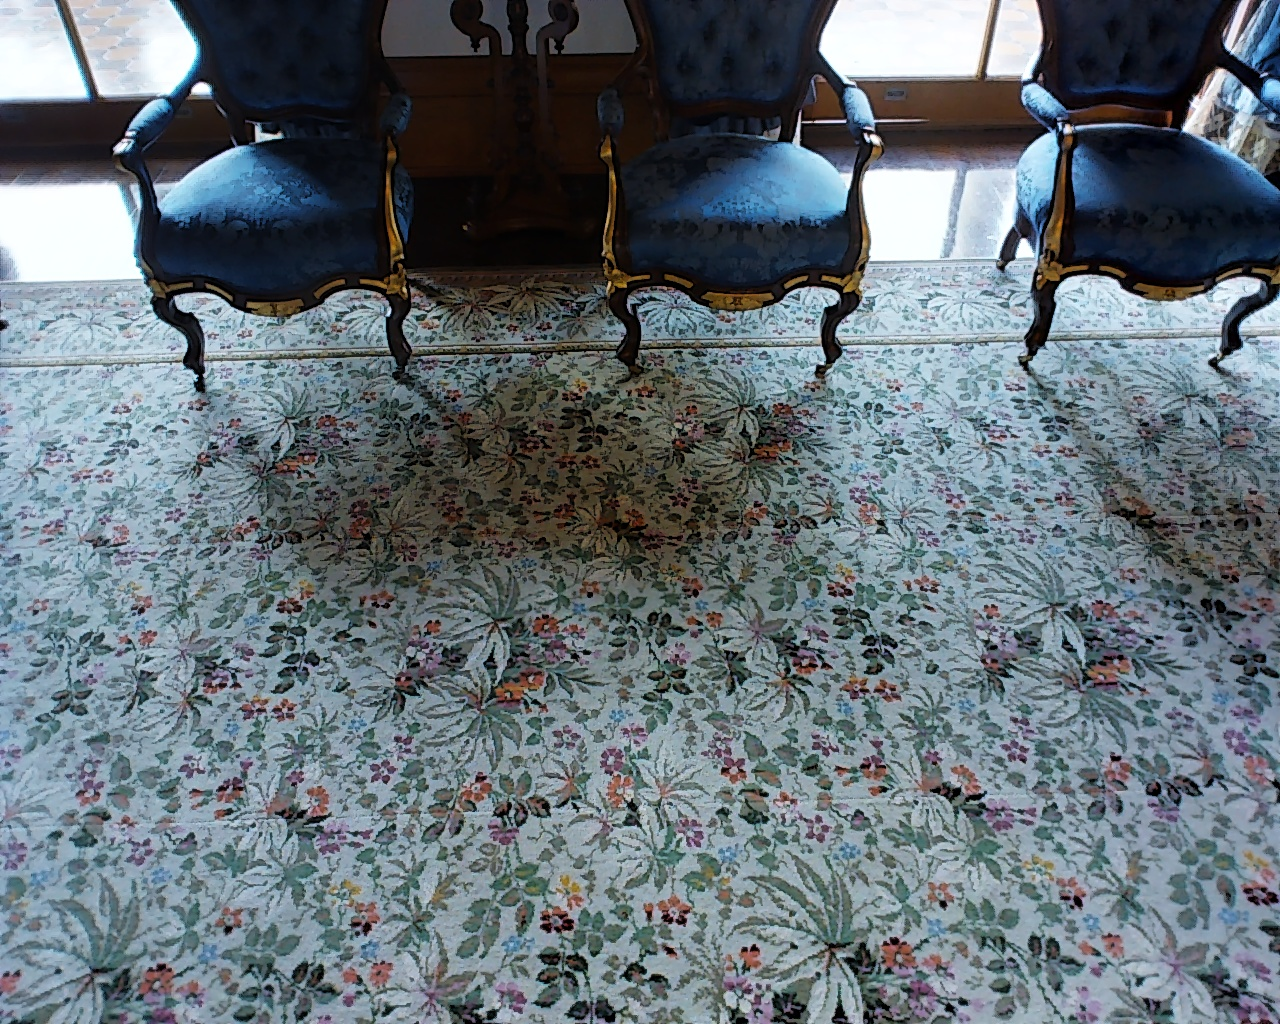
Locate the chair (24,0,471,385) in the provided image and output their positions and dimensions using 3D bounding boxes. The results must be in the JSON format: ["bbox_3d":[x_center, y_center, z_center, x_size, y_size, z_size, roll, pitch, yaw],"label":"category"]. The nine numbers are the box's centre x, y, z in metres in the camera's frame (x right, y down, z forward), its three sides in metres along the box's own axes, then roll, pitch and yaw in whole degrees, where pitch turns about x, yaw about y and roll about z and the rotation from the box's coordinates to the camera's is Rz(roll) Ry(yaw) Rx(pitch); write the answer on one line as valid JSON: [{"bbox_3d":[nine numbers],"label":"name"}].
[{"bbox_3d":[-0.850,-1.020,2.630,0.680,1.070,0.890,-2,42,-1],"label":"chair"}]

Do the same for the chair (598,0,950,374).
[{"bbox_3d":[0.250,-1.030,2.660,0.690,1.040,0.860,-2,42,-1],"label":"chair"}]

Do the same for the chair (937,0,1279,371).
[{"bbox_3d":[1.270,-1.040,2.650,0.690,1.080,0.820,-2,42,-1],"label":"chair"}]
